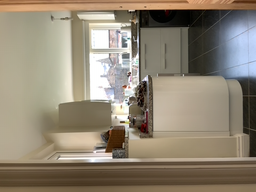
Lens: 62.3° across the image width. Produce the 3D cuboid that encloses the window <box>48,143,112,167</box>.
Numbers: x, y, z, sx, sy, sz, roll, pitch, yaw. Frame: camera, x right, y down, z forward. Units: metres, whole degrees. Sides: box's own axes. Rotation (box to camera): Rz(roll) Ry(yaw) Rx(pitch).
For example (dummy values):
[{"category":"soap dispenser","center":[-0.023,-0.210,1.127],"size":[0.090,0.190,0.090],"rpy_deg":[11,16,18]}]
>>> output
[{"category":"window","center":[-0.480,0.620,2.250],"size":[0.330,0.610,0.150],"rpy_deg":[-135,45,-88]}]

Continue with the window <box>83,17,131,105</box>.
[{"category":"window","center":[-0.450,-0.750,4.760],"size":[0.370,0.990,1.880],"rpy_deg":[-106,15,-86]}]
